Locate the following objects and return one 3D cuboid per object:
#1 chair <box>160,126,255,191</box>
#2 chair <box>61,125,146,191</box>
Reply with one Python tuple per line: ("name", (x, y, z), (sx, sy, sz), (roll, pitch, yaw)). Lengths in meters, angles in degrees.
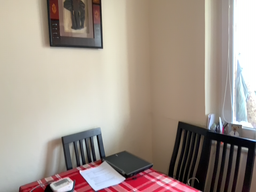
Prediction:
("chair", (0.580, 0.790, 1.430), (0.560, 1.010, 0.440), (-7, 8, -37))
("chair", (-0.190, 0.800, 1.650), (0.390, 1.010, 0.560), (-7, 8, -37))
